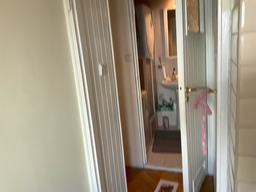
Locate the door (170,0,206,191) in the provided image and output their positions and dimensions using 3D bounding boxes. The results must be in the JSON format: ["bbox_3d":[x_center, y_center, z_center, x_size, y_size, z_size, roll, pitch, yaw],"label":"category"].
[{"bbox_3d":[0.600,-0.060,1.960,0.100,2.230,0.820,2,15,29],"label":"door"}]
